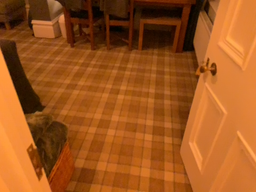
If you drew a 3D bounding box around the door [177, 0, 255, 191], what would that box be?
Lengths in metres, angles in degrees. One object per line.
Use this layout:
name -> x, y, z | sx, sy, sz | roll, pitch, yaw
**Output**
door -> 0.460, -0.140, 0.700 | 0.040, 2.060, 0.790 | -1, 37, -4
